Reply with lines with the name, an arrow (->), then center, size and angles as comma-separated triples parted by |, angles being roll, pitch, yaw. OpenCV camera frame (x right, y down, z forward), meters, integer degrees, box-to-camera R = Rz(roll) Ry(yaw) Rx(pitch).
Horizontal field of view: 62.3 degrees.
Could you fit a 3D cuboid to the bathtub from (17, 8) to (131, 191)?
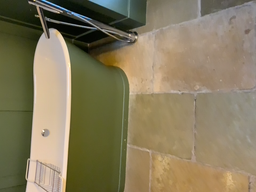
bathtub -> -0.480, 0.310, 1.890 | 0.750, 0.680, 1.760 | -3, 85, 46
